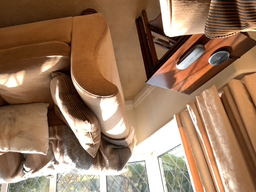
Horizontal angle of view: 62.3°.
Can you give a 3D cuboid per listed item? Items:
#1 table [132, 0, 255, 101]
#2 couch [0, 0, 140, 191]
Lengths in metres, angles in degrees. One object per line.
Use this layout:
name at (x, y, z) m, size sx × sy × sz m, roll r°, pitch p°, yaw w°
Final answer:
table at (0.330, -0.360, 1.240) m, size 0.340 × 0.550 × 0.500 m, roll 12°, pitch 143°, yaw -29°
couch at (-0.850, 0.160, 1.520) m, size 1.730 × 0.860 × 1.080 m, roll -8°, pitch 148°, yaw 0°
